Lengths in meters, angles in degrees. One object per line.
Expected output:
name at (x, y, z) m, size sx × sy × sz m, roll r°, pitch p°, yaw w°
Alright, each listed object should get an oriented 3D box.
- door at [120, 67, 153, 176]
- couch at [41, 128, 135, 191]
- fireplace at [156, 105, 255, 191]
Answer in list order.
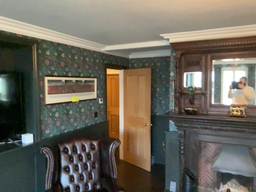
door at (0.160, 0.470, 4.280) m, size 0.140 × 2.050 × 0.790 m, roll -4°, pitch 5°, yaw -42°
couch at (-0.490, 1.010, 2.370) m, size 0.850 × 1.060 × 0.840 m, roll -2°, pitch 4°, yaw -23°
fireplace at (1.370, 0.850, 2.590) m, size 1.780 × 1.300 × 1.110 m, roll 2°, pitch 4°, yaw 26°
